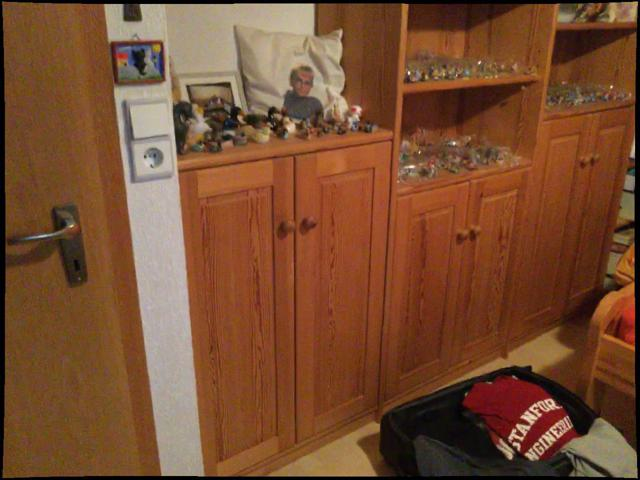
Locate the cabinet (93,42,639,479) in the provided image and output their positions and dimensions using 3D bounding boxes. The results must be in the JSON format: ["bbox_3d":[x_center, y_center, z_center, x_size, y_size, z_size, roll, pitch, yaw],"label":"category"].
[{"bbox_3d":[0.539,-0.030,2.210,2.459,1.201,0.340,-17,28,-32],"label":"cabinet"}]

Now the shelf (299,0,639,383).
[{"bbox_3d":[0.899,-0.701,2.370,2.029,1.902,0.490,-17,28,-32],"label":"shelf"}]

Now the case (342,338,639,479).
[{"bbox_3d":[0.619,0.701,1.710,0.759,0.220,0.880,-14,26,-26],"label":"case"}]
